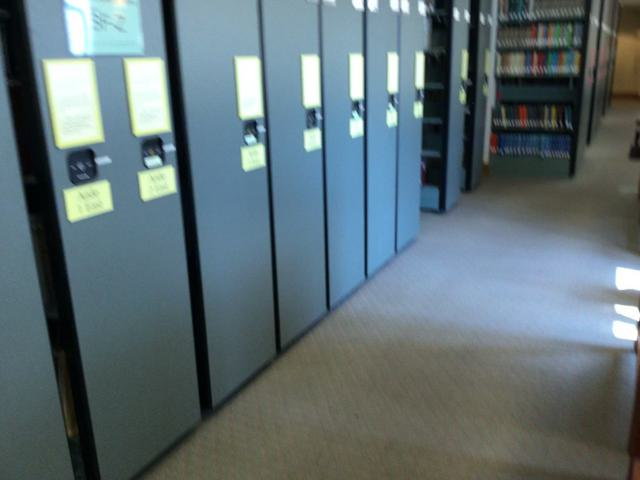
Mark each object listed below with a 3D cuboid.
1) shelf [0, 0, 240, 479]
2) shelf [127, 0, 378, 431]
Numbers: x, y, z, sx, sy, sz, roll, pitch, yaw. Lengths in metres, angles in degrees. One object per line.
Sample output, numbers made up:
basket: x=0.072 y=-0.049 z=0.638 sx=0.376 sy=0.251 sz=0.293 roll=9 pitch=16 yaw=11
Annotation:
shelf: x=-0.870 y=-0.090 z=2.000 sx=0.680 sy=1.840 sz=0.710 roll=4 pitch=20 yaw=26
shelf: x=-0.150 y=-0.420 z=2.750 sx=0.180 sy=1.970 sz=1.610 roll=4 pitch=20 yaw=26
